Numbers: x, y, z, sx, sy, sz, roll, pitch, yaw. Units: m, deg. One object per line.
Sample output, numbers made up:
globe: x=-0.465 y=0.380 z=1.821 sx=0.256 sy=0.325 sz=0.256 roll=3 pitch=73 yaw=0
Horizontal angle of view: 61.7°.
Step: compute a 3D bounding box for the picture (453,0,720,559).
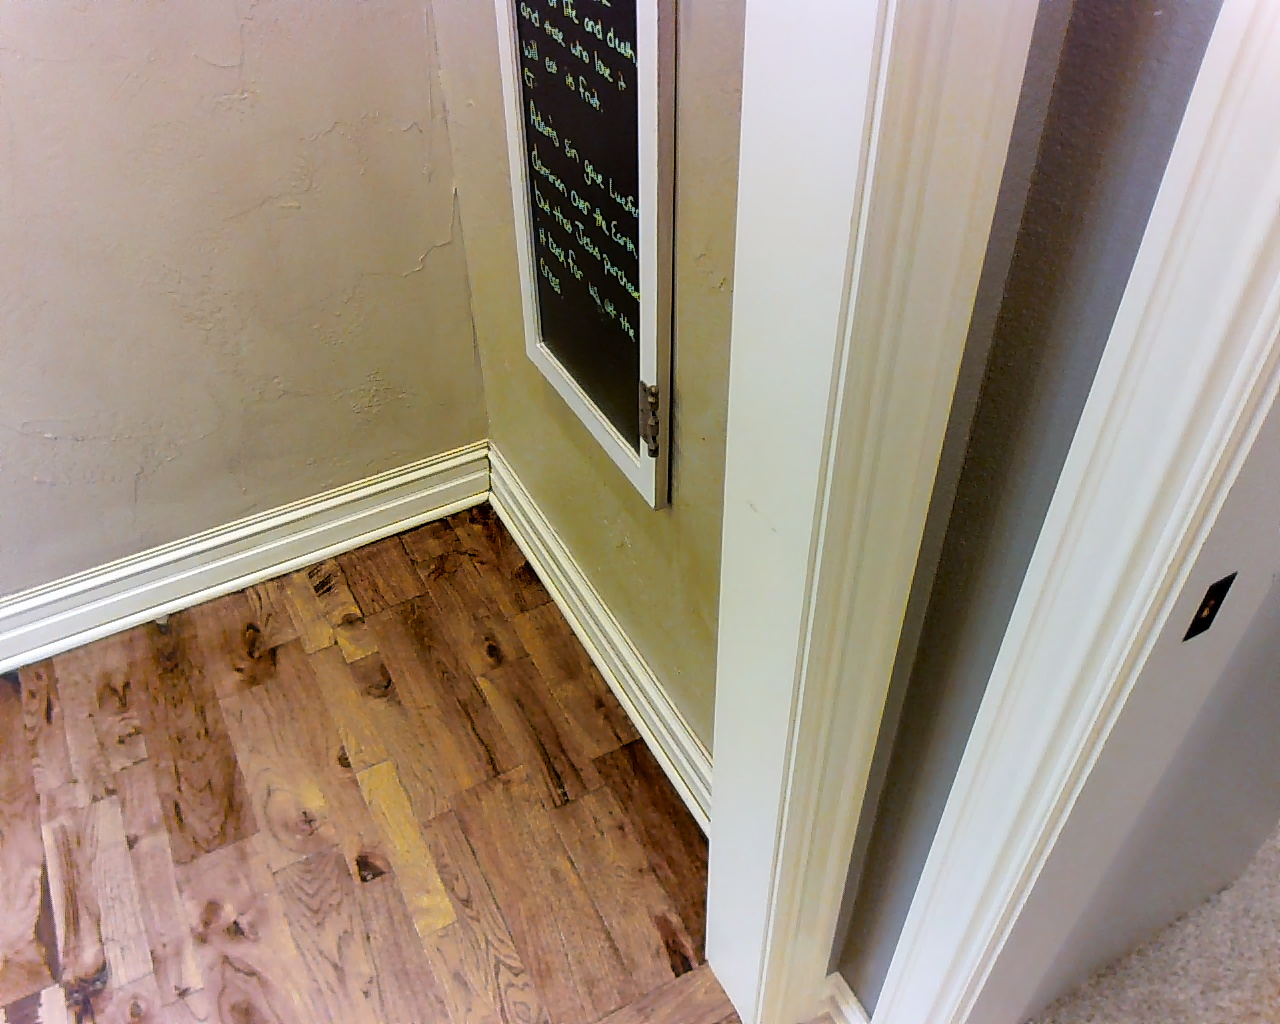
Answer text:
picture: x=-0.080 y=-0.470 z=1.200 sx=0.070 sy=0.990 sz=0.520 roll=-20 pitch=46 yaw=-19
